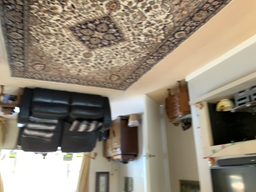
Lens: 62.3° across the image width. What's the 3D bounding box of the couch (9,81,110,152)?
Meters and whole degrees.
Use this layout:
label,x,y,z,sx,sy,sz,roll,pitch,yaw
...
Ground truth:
label,x,y,z,sx,sy,sz,roll,pitch,yaw
couch,-1.230,0.480,3.880,1.510,0.990,1.060,7,160,-25
